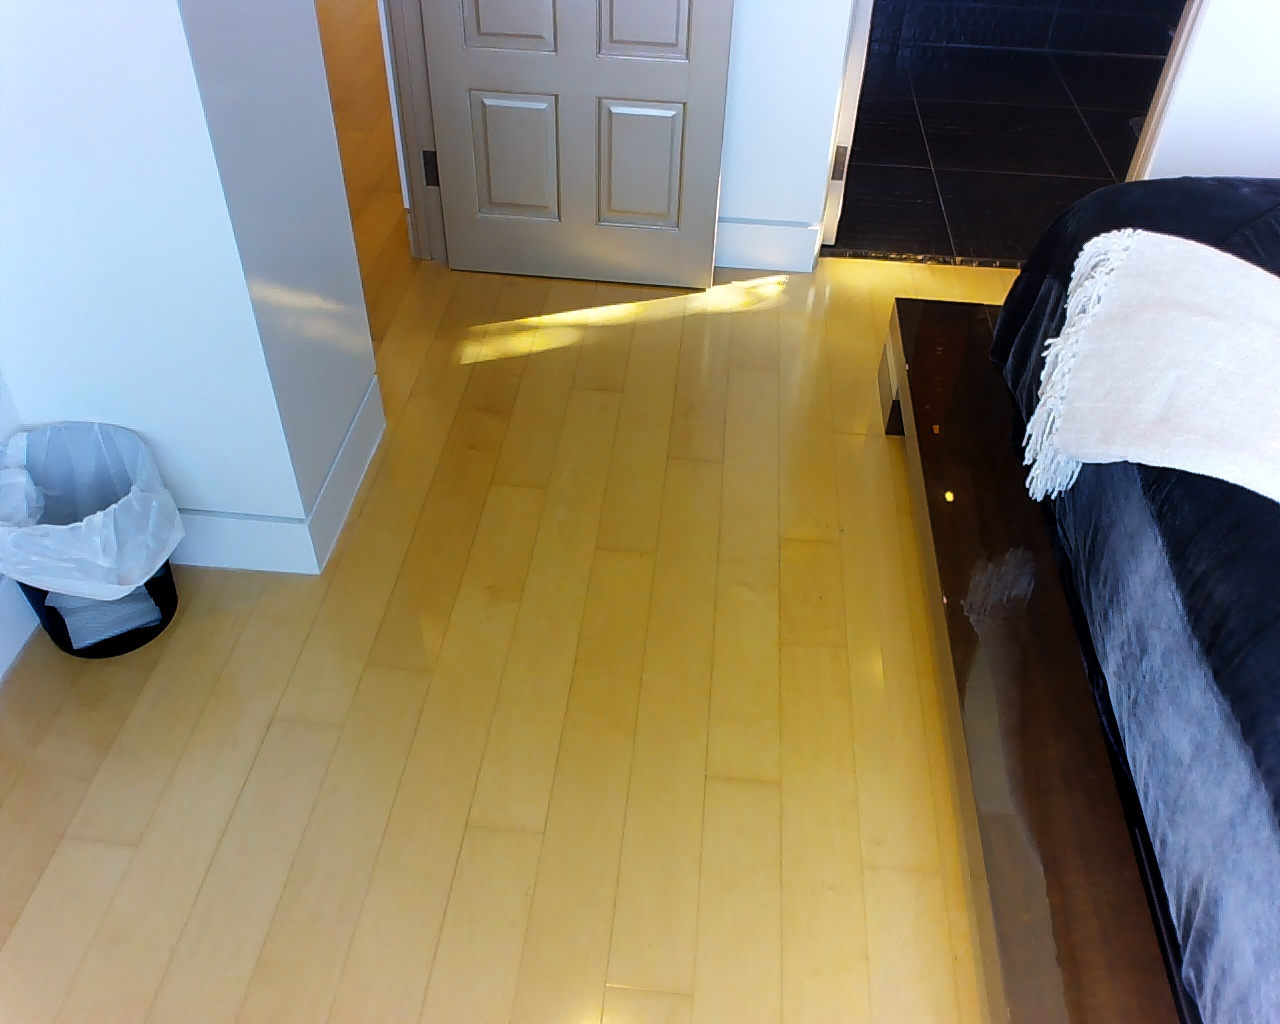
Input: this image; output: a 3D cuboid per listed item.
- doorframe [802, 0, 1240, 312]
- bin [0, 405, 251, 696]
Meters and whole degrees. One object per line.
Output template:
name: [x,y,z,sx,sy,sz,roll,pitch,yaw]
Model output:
doorframe: [0.960,-1.570,2.330,0.910,2.460,0.170,4,42,3]
bin: [-0.970,0.070,1.950,0.340,0.390,0.320,4,42,3]
